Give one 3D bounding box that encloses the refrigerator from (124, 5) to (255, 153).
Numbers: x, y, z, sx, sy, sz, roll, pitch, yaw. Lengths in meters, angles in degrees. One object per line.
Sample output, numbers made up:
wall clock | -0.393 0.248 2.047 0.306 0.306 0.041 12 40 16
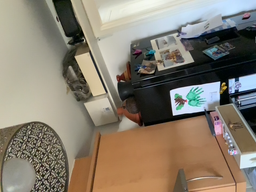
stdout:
refrigerator | 0.930 -0.210 1.570 0.660 1.790 0.670 -90 -16 -54
